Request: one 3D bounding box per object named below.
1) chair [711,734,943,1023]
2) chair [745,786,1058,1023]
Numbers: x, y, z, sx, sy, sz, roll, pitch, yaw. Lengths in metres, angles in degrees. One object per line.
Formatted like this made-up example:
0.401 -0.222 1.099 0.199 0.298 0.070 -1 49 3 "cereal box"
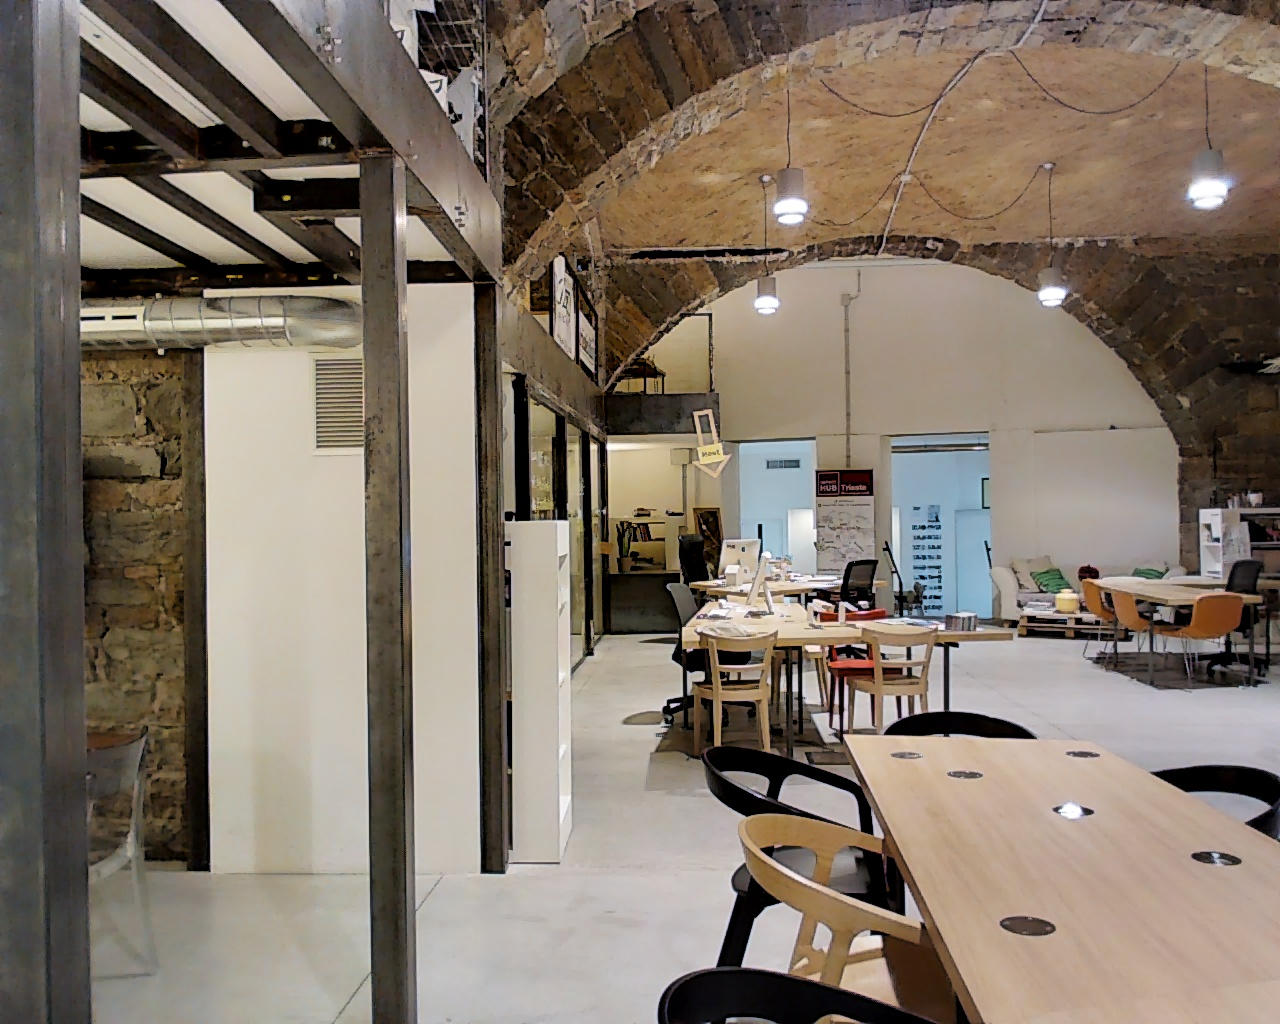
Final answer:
0.490 1.080 3.020 0.570 0.780 0.650 -1 0 4 "chair"
0.510 1.070 2.310 0.540 0.780 0.710 -1 0 4 "chair"
